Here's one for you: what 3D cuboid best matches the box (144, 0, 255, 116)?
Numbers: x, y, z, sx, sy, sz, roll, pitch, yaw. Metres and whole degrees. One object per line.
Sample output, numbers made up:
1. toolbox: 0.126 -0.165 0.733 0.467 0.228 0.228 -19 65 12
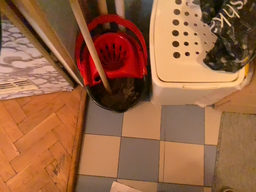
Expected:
1. box: 0.280 -0.160 0.900 0.360 0.540 0.380 4 76 1
